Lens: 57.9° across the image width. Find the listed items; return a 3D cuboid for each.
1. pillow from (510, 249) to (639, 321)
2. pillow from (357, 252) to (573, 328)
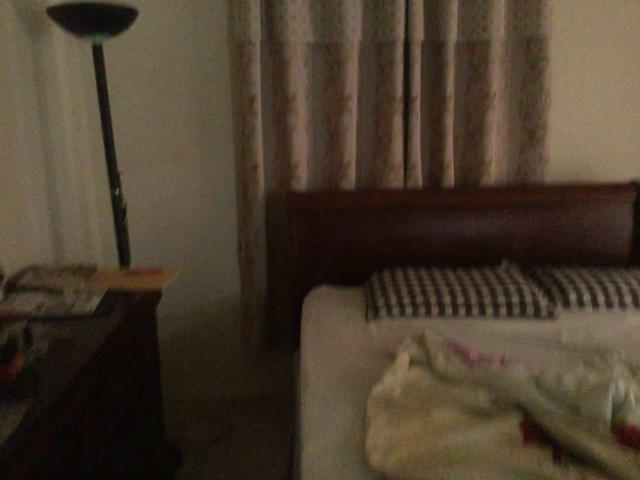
[{"bbox_3d":[1.150,0.160,2.270,0.650,0.120,0.480,-4,11,0],"label":"pillow"},{"bbox_3d":[0.520,0.180,2.240,0.710,0.120,0.480,-4,11,0],"label":"pillow"}]
